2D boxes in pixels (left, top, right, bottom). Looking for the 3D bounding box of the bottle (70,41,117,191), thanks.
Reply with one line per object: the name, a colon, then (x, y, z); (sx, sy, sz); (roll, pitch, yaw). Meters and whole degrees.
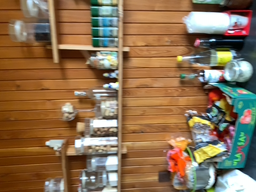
bottle: (-0.190, 0.330, 1.290); (0.120, 0.220, 1.280); (-107, 18, -68)
